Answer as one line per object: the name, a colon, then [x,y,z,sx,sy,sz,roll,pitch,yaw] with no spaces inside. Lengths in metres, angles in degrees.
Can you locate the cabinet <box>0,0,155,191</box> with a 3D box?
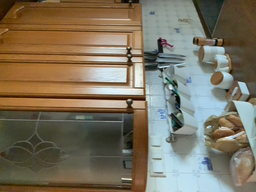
cabinet: [-0.410,-0.120,1.250,0.320,1.030,1.200,92,180,-49]
